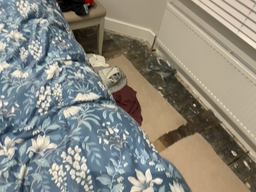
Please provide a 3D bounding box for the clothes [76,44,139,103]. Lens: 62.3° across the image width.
[{"bbox_3d":[-0.190,-0.210,1.830,0.350,0.170,0.440,-23,58,-26],"label":"clothes"}]
